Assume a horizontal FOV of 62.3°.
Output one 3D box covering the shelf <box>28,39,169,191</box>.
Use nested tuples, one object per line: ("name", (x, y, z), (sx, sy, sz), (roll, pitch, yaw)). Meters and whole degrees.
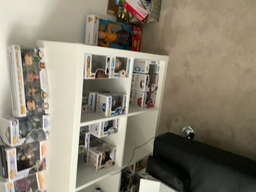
("shelf", (-0.210, 0.410, 1.460), (0.420, 0.760, 1.460), (17, 106, 39))
